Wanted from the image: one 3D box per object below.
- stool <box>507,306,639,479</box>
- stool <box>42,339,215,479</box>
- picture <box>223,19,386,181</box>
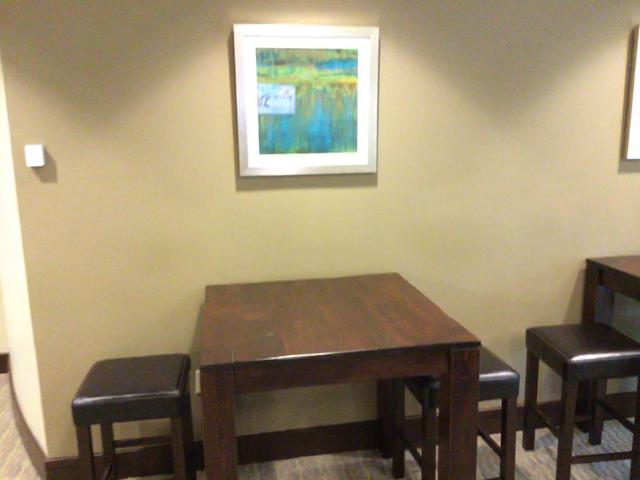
[{"bbox_3d":[1.240,0.710,2.600,0.560,0.640,0.610,-5,9,-4],"label":"stool"},{"bbox_3d":[-0.750,0.850,2.420,0.490,0.680,0.560,-5,9,-4],"label":"stool"},{"bbox_3d":[-0.060,-0.600,2.520,0.650,0.630,0.130,-5,9,-4],"label":"picture"}]
